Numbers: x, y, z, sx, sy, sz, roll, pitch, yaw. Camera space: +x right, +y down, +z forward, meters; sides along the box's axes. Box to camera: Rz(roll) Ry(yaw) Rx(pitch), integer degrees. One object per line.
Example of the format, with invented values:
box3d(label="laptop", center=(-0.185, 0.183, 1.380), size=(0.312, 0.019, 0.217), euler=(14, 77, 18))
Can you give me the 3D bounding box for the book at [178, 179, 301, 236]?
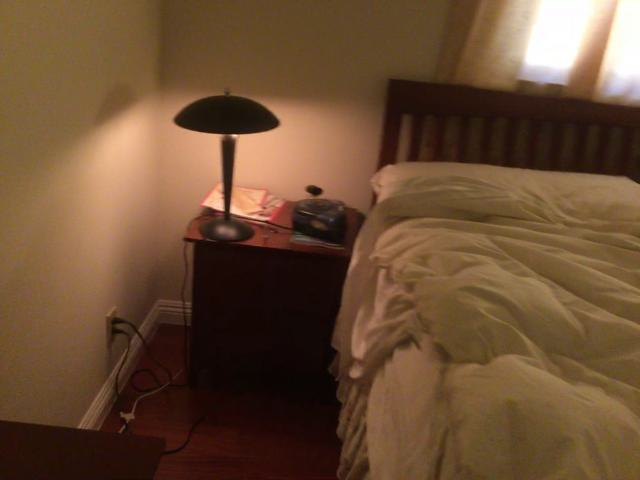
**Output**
box3d(label="book", center=(-0.260, -0.120, 2.000), size=(0.370, 0.080, 0.360), euler=(3, 20, 0))
